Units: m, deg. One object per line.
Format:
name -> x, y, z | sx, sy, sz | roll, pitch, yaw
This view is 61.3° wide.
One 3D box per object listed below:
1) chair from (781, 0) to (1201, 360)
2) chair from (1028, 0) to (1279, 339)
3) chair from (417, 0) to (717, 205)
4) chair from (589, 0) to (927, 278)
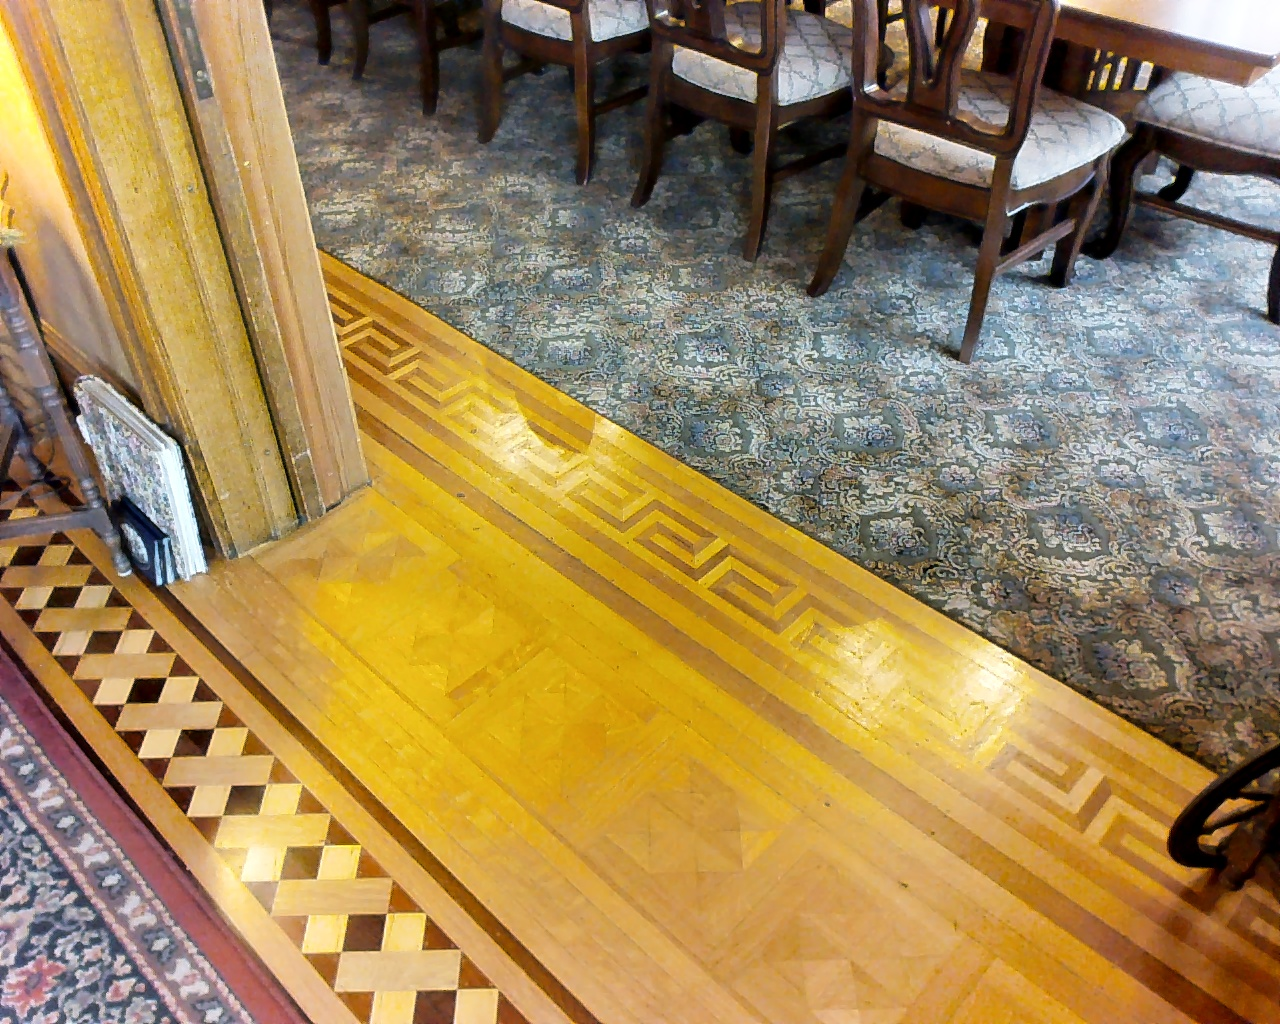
chair -> 0.860, -0.970, 2.720 | 0.640, 0.750, 0.710 | 31, 51, 28
chair -> 1.620, -1.130, 2.640 | 0.820, 1.100, 0.650 | 33, 52, 30
chair -> -0.220, -1.650, 3.230 | 0.640, 1.110, 0.660 | 33, 52, 30
chair -> 0.310, -1.330, 2.870 | 0.650, 1.080, 0.610 | 33, 52, 30
